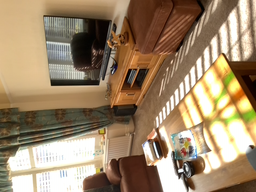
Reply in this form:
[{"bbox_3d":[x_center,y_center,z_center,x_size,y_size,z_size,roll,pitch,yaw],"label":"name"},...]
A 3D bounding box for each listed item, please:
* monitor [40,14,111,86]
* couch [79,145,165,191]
[{"bbox_3d":[-0.700,-0.530,2.830,1.290,0.740,0.060,115,146,-56],"label":"monitor"},{"bbox_3d":[-0.110,1.490,3.040,1.020,0.960,1.150,115,146,-54],"label":"couch"}]
